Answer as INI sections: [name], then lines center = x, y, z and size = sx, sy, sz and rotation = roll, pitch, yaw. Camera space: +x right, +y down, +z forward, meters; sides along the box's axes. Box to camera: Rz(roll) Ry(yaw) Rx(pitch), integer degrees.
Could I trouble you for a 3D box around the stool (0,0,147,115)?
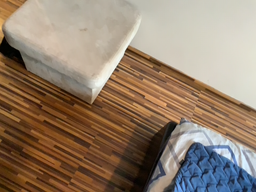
[stool]
center = -0.310, -0.330, 1.270
size = 0.580, 0.420, 0.570
rotation = 28, 62, 1
